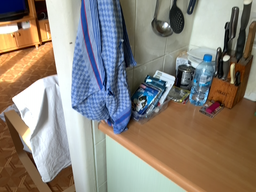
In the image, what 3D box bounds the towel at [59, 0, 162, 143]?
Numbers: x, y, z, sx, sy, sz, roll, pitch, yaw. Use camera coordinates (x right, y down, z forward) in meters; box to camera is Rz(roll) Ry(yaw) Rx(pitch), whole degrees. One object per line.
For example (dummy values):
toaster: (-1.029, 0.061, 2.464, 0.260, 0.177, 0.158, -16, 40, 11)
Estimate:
towel: (-0.030, -0.160, 0.600, 0.080, 0.540, 0.290, 27, 39, 34)
